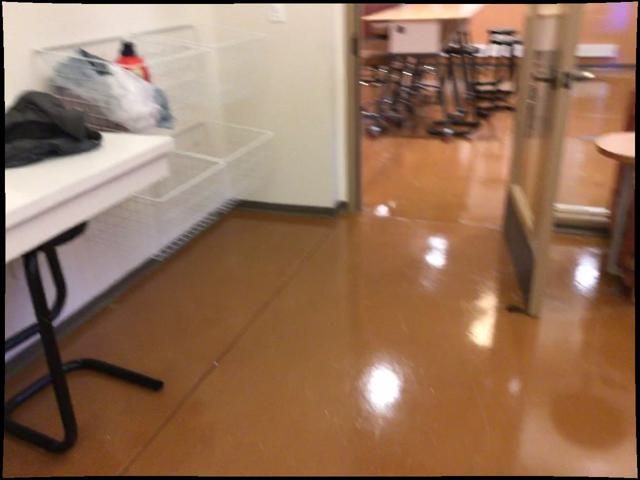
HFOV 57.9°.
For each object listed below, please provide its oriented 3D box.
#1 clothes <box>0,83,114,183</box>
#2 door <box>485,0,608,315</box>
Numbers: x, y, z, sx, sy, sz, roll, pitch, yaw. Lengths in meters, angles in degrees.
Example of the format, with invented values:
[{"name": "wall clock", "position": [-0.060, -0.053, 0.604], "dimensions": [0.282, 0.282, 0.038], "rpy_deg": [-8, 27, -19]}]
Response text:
[{"name": "clothes", "position": [-0.929, -0.330, 1.700], "dimensions": [0.460, 0.180, 0.360], "rpy_deg": [7, 27, 19]}, {"name": "door", "position": [0.889, -0.561, 2.410], "dimensions": [0.150, 1.441, 0.950], "rpy_deg": [1, 26, 7]}]
